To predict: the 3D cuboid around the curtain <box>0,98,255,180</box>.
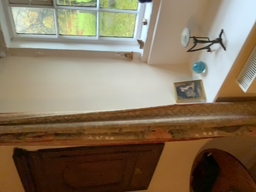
[{"bbox_3d":[0.110,0.210,1.220,0.250,1.820,0.250,-107,20,-46],"label":"curtain"}]
